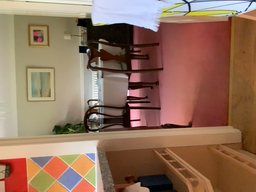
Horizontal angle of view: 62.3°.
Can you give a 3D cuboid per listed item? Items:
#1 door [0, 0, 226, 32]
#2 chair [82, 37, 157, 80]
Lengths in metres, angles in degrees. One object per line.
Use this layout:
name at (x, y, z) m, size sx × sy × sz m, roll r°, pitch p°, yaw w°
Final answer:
door at (-0.380, -0.620, 1.660) m, size 0.870 × 1.970 × 0.090 m, roll -124°, pitch 35°, yaw -68°
chair at (-0.150, -0.500, 2.980) m, size 0.500 × 0.960 × 0.440 m, roll 149°, pitch 120°, yaw -75°
